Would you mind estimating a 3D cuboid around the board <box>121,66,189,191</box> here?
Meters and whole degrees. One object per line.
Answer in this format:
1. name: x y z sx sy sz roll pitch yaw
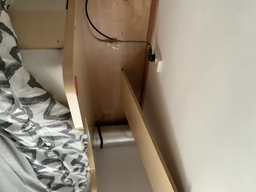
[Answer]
1. board: 0.100 0.270 1.090 0.140 0.910 0.350 -4 137 -9
